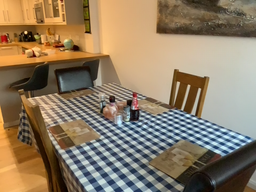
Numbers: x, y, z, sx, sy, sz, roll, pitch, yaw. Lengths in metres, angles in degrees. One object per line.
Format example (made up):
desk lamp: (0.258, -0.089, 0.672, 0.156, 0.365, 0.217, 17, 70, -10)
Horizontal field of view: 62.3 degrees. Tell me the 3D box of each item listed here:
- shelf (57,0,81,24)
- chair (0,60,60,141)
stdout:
shelf: (-0.950, -1.560, 3.370, 0.310, 0.770, 0.160, -14, 23, -34)
chair: (-1.240, 0.040, 2.690, 0.490, 0.910, 0.490, 0, 19, 2)
